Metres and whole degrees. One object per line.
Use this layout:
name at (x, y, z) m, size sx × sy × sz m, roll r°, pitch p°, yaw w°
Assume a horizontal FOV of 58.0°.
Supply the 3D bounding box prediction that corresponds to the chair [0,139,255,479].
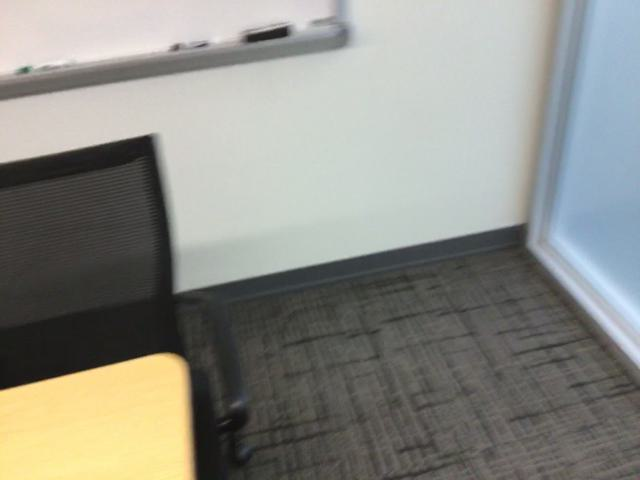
chair at (-0.480, 0.360, 1.040) m, size 0.650 × 0.840 × 0.570 m, roll -9°, pitch 32°, yaw -7°
